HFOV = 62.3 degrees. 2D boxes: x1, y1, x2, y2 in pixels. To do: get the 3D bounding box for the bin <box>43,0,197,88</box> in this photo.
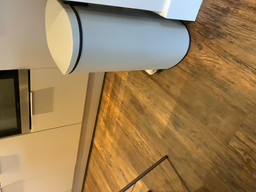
[{"bbox_3d":[-0.050,-0.320,1.080,0.340,0.640,0.360,49,135,39],"label":"bin"}]
